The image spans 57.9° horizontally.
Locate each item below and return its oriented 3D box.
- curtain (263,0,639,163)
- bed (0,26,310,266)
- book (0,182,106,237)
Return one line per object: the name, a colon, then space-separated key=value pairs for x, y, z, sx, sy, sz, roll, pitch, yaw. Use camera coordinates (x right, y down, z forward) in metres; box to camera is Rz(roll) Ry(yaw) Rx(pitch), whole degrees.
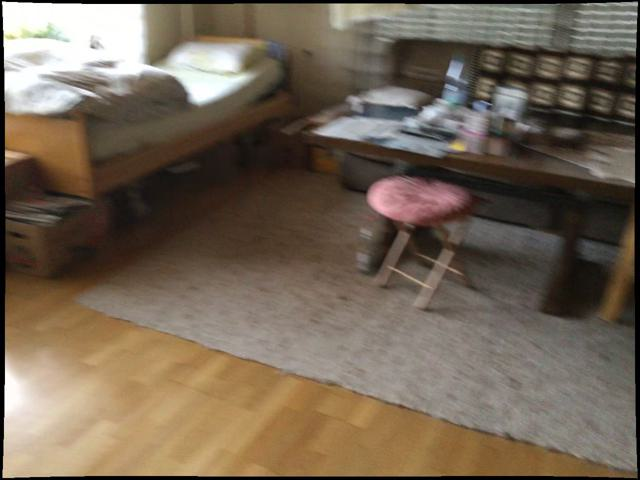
curtain: x=1.089 y=-1.742 z=3.590 sx=3.058 sy=2.102 sz=0.600 roll=14 pitch=30 yaw=24
bed: x=-1.079 y=-0.791 z=3.710 sx=1.149 sy=0.821 sz=2.130 roll=14 pitch=30 yaw=24
book: x=-1.239 y=-0.150 z=2.680 sx=0.330 sy=0.080 sz=0.320 roll=14 pitch=30 yaw=24
